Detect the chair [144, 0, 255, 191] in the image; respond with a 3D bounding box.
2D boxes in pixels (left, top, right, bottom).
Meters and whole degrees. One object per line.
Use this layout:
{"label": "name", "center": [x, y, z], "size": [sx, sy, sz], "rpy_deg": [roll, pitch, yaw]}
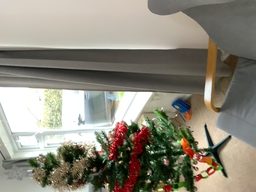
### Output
{"label": "chair", "center": [0.670, -0.130, 1.090], "size": [0.670, 0.920, 0.770], "rpy_deg": [-145, 57, -67]}
